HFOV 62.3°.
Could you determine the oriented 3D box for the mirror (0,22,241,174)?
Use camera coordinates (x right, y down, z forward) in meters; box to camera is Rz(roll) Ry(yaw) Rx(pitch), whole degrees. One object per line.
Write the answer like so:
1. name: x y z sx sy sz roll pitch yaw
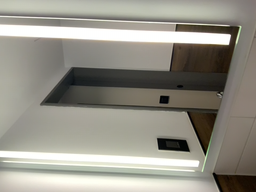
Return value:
1. mirror: -0.160 0.040 0.830 0.060 1.020 0.590 -88 1 -64
